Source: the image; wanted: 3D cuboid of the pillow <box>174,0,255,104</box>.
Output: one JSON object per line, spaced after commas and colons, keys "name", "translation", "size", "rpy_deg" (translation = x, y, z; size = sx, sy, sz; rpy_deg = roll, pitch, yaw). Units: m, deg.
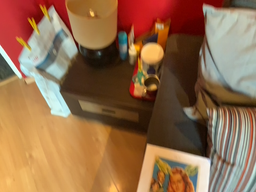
{"name": "pillow", "translation": [0.450, -0.140, 0.710], "size": [0.500, 0.400, 0.230], "rpy_deg": [14, 80, 8]}
